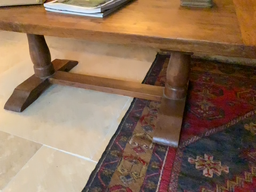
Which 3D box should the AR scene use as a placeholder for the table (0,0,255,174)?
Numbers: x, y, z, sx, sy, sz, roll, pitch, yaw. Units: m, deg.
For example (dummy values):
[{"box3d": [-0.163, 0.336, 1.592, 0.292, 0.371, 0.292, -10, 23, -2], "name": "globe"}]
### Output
[{"box3d": [-0.140, -0.210, 0.950, 1.240, 0.440, 0.630, 10, 37, 14], "name": "table"}]
